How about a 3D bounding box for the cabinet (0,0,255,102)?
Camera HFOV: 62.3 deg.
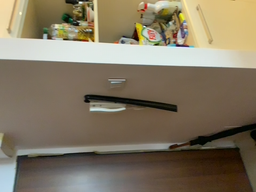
[{"bbox_3d":[0.080,-0.360,1.500,0.650,2.290,0.570,111,156,-59],"label":"cabinet"}]
